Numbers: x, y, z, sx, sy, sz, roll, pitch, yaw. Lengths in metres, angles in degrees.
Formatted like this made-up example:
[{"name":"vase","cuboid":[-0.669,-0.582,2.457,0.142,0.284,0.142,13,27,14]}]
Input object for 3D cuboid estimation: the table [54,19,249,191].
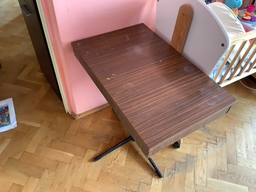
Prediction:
[{"name":"table","cuboid":[0.050,0.090,1.210,0.590,0.650,0.710,-22,54,-22]}]
